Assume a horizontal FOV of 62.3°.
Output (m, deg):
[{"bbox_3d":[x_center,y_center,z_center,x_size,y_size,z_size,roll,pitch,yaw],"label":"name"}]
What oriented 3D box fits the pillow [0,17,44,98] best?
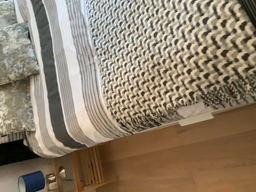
[{"bbox_3d":[-0.960,-0.310,1.590,0.160,0.490,0.530,-29,106,13],"label":"pillow"}]
